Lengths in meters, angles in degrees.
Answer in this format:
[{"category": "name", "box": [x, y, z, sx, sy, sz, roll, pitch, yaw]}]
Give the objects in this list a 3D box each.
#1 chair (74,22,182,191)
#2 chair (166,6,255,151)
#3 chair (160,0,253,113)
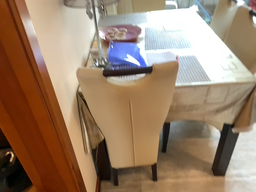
[{"category": "chair", "box": [0.010, 0.120, 1.310, 0.420, 0.940, 0.530, -5, 37, -2]}, {"category": "chair", "box": [0.600, -0.090, 1.540, 0.540, 0.930, 0.430, -4, 36, 1]}, {"category": "chair", "box": [0.600, -0.360, 1.900, 0.540, 0.930, 0.450, -4, 36, 1]}]
